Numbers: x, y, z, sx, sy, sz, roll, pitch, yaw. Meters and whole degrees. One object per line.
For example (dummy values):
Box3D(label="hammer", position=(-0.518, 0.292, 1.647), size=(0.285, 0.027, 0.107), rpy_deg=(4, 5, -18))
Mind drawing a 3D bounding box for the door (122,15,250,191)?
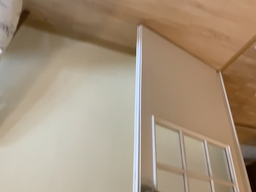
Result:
Box3D(label="door", position=(0.360, 0.450, 1.160), size=(0.830, 2.090, 0.120), rpy_deg=(21, 142, -25))
